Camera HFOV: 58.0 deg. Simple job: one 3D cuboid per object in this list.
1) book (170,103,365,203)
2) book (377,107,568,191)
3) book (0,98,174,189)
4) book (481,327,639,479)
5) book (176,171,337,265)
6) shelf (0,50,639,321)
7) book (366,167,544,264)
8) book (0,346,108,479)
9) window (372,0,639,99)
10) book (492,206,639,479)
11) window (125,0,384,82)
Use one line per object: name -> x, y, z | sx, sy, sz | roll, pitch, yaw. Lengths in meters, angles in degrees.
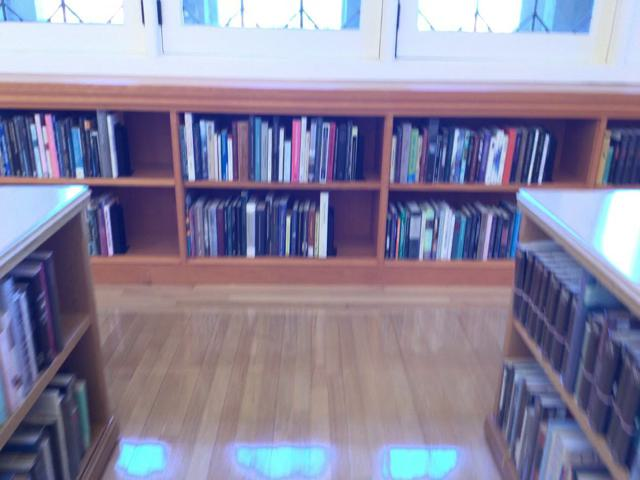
book -> -0.220, -0.400, 2.610 | 0.810, 0.360, 0.320 | 2, 20, 0
book -> 0.650, -0.410, 2.570 | 0.750, 0.300, 0.260 | 2, 20, 0
book -> -1.100, -0.440, 2.580 | 0.790, 0.310, 0.350 | 2, 20, 0
book -> 0.570, 0.570, 1.290 | 0.150, 0.340, 0.920 | 2, 20, 0
book -> -0.280, -0.110, 2.720 | 0.700, 0.330, 0.330 | 2, 20, 0
shelf -> -0.280, -0.270, 2.570 | 3.550, 0.990, 0.530 | 2, 20, 0
book -> 0.600, -0.120, 2.690 | 0.730, 0.360, 0.270 | 2, 20, 0
book -> -0.650, 0.550, 1.160 | 0.130, 0.290, 0.810 | 2, 20, 0
window -> 0.850, -1.460, 2.380 | 1.160, 1.660, 0.130 | 3, 20, 2
book -> 0.570, 0.230, 1.130 | 0.190, 0.350, 0.870 | 2, 20, 0
window -> -0.270, -1.510, 2.440 | 1.130, 1.580, 0.180 | 2, 20, 0
